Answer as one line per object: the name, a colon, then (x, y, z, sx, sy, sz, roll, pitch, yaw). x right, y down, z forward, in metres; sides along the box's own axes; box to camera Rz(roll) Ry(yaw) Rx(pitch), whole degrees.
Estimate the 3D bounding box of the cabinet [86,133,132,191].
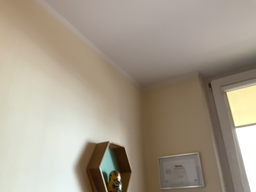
cabinet: (-0.090, 0.400, 1.170, 0.080, 0.310, 0.310, -16, -30, 26)
